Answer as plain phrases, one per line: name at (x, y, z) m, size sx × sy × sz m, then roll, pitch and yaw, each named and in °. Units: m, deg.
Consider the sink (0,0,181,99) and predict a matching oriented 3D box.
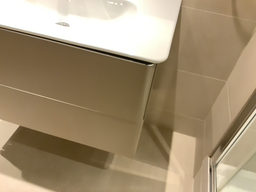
sink at (-0.260, -0.290, 0.760) m, size 0.840 × 0.140 × 0.440 m, roll 14°, pitch 45°, yaw 6°
